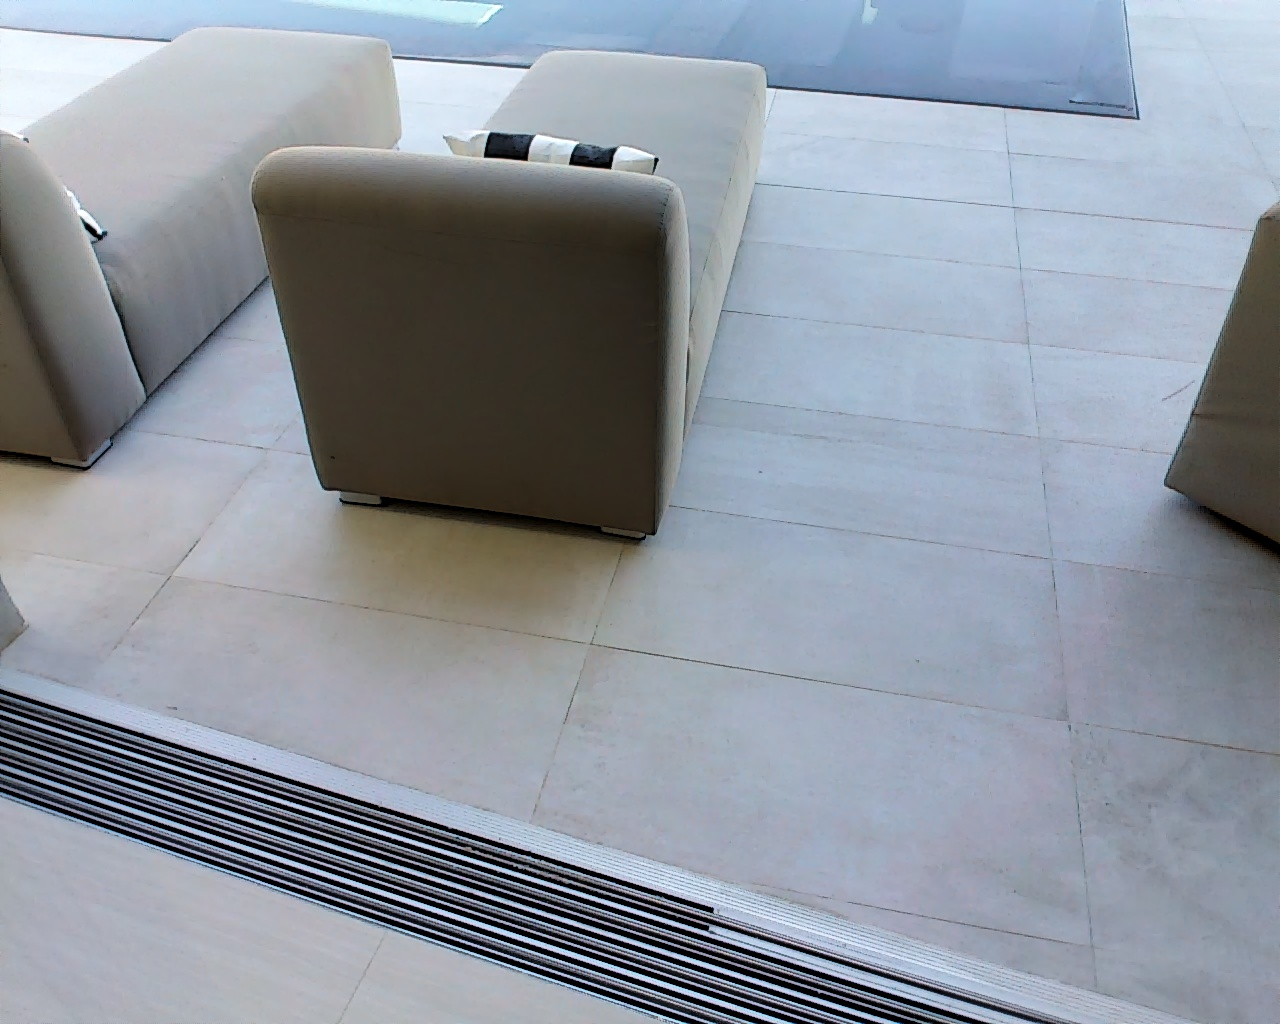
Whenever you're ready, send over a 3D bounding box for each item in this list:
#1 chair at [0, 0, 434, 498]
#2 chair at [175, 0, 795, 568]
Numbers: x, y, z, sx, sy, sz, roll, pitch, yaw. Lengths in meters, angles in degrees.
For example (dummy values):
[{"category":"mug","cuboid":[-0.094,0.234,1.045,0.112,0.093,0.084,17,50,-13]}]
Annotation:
[{"category":"chair","cuboid":[-1.470,-1.120,3.090,1.000,0.840,2.170,7,42,7]},{"category":"chair","cuboid":[-0.160,-0.950,2.900,0.930,0.830,2.140,8,42,8]}]
